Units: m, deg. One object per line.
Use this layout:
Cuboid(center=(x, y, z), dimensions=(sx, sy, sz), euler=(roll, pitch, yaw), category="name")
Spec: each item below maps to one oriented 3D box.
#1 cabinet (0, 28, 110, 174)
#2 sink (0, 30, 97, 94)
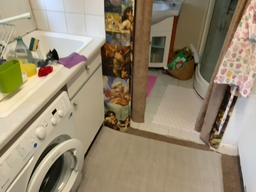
Cuboid(center=(-0.570, 0.030, 1.680), dimensions=(0.680, 0.900, 0.560), euler=(10, 37, 11), category="cabinet")
Cuboid(center=(-0.520, -0.260, 1.460), dimensions=(0.440, 0.180, 0.490), euler=(10, 37, 11), category="sink")
